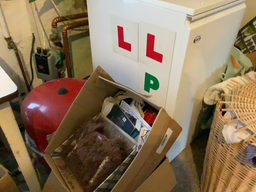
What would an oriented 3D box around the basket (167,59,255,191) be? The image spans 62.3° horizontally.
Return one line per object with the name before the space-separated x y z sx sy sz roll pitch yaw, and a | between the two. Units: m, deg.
basket | 0.580 0.270 1.000 0.540 0.630 0.450 -26 46 -30
